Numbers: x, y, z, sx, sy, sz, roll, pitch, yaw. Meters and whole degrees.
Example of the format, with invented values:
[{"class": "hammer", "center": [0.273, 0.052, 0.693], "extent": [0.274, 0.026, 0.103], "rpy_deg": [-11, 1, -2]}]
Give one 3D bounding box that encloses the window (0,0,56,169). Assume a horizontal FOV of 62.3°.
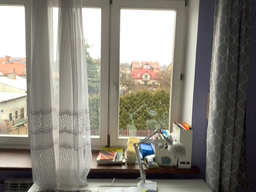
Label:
[{"class": "window", "center": [-1.160, -0.200, 1.820], "extent": [0.950, 1.540, 0.320], "rpy_deg": [2, 7, 2]}]
